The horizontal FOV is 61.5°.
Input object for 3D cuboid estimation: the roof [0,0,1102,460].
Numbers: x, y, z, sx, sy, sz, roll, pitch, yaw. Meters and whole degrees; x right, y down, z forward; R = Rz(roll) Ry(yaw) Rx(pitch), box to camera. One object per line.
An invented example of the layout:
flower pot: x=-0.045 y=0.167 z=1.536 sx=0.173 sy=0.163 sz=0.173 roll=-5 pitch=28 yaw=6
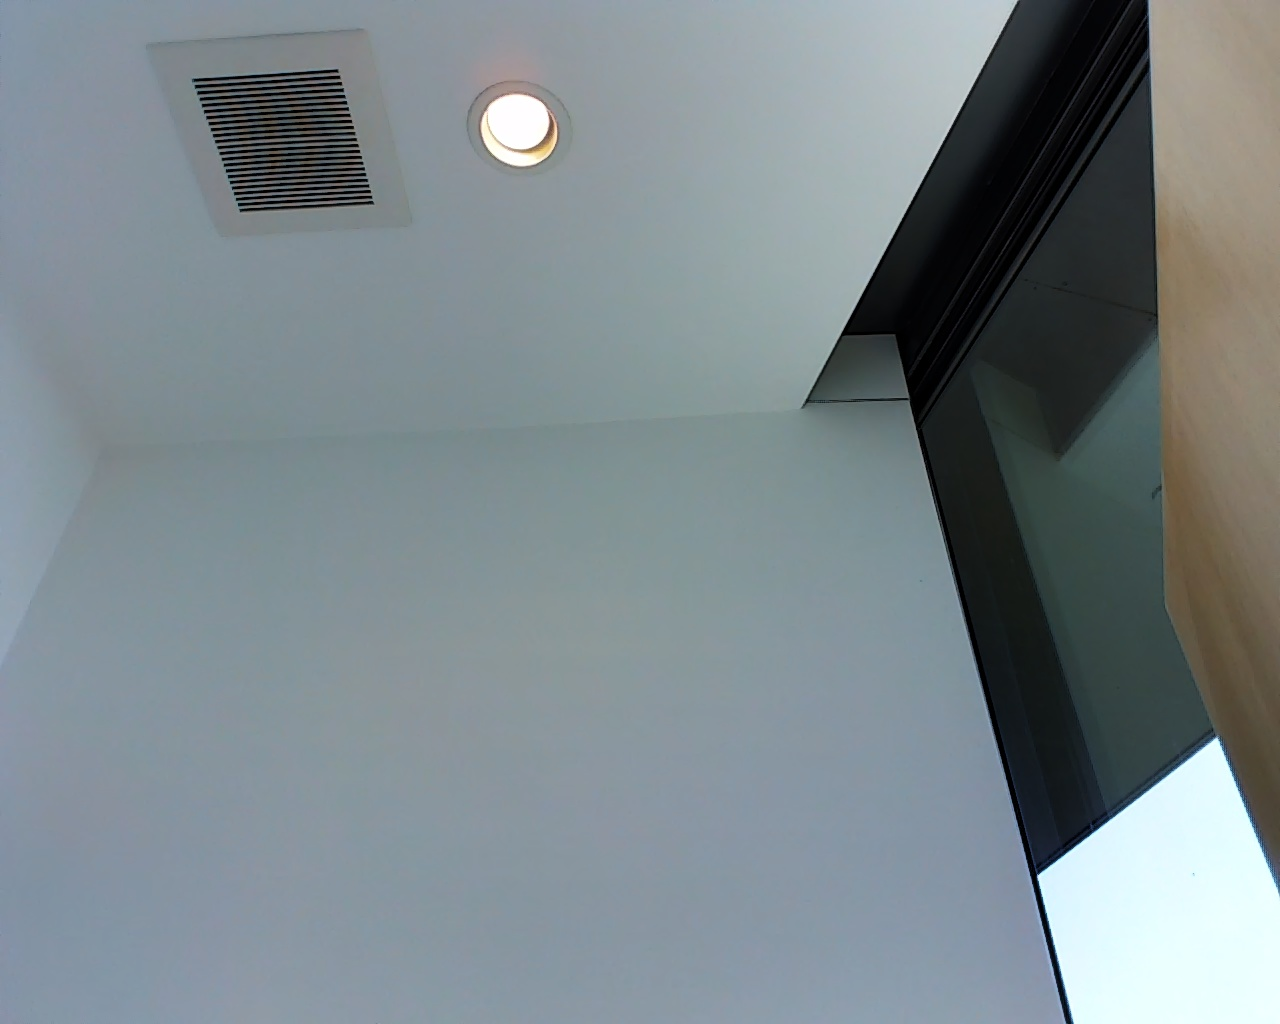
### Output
roof: x=-0.250 y=-0.530 z=1.780 sx=1.839 sy=0.070 sz=1.070 roll=-2 pitch=-43 yaw=3
